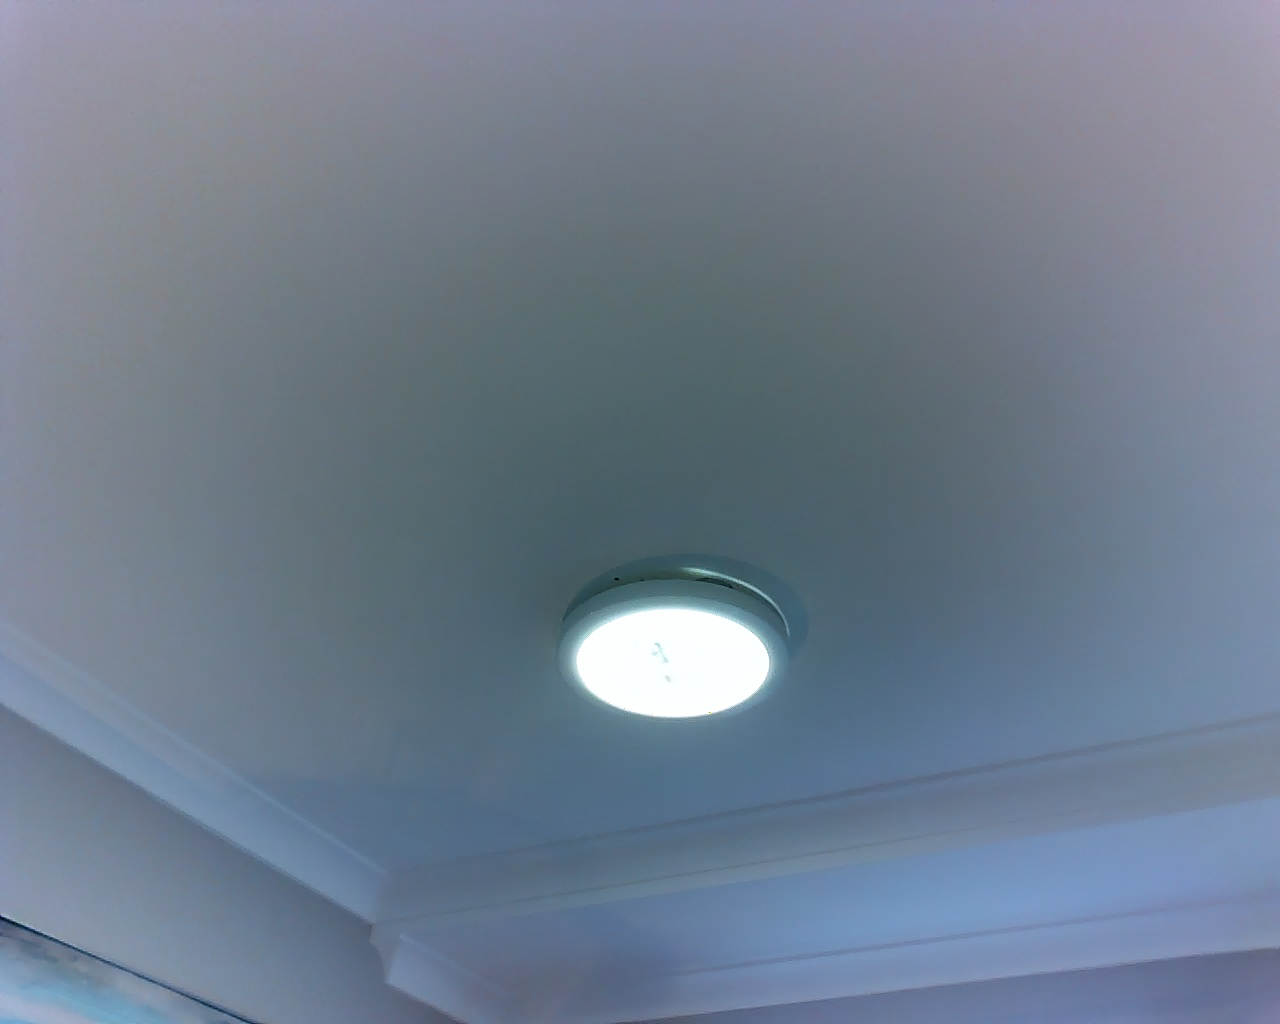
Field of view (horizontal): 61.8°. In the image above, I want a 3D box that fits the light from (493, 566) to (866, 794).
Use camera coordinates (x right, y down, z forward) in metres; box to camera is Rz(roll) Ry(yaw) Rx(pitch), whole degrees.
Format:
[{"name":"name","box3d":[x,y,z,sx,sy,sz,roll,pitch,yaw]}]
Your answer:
[{"name":"light","box3d":[0.080,0.300,1.900,0.500,0.510,0.100,3,55,34]}]
